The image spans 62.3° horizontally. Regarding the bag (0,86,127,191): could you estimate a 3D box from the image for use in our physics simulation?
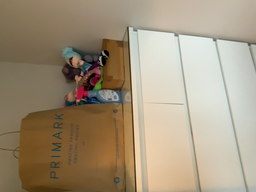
[{"bbox_3d":[-0.300,0.270,1.090,0.360,0.510,0.520,127,144,-67],"label":"bag"}]
